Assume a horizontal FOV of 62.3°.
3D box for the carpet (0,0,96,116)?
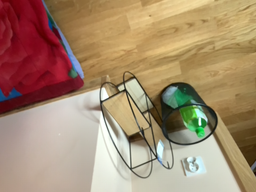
[{"bbox_3d":[-0.610,-0.190,0.880,0.770,0.080,0.600,-15,123,8],"label":"carpet"}]
